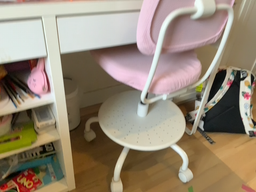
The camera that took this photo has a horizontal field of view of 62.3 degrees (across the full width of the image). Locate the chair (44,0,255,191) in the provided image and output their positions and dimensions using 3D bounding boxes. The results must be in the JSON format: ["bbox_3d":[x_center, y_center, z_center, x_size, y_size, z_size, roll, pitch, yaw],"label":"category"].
[{"bbox_3d":[0.080,-0.090,0.910,0.610,0.840,0.650,-18,42,-29],"label":"chair"}]
